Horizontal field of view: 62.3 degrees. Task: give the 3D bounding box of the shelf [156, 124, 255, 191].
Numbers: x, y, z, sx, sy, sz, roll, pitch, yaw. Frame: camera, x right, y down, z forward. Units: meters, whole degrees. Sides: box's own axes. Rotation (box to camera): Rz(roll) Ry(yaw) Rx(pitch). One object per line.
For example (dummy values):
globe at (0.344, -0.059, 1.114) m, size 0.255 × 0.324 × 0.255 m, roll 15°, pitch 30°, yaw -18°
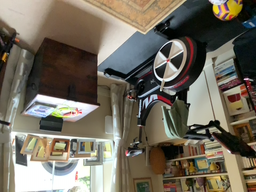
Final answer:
shelf at (0.980, 1.270, 2.610) m, size 0.190 × 1.510 × 1.440 m, roll 12°, pitch 153°, yaw -33°
